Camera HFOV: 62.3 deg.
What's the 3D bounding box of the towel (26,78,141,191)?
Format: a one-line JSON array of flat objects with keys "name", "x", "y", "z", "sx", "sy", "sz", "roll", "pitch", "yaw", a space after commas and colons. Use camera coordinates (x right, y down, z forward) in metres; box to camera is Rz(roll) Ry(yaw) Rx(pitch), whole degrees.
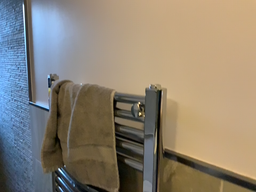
[{"name": "towel", "x": -0.150, "y": 0.130, "z": 0.610, "sx": 0.120, "sy": 0.340, "sz": 0.390, "roll": -8, "pitch": 12, "yaw": -44}]
